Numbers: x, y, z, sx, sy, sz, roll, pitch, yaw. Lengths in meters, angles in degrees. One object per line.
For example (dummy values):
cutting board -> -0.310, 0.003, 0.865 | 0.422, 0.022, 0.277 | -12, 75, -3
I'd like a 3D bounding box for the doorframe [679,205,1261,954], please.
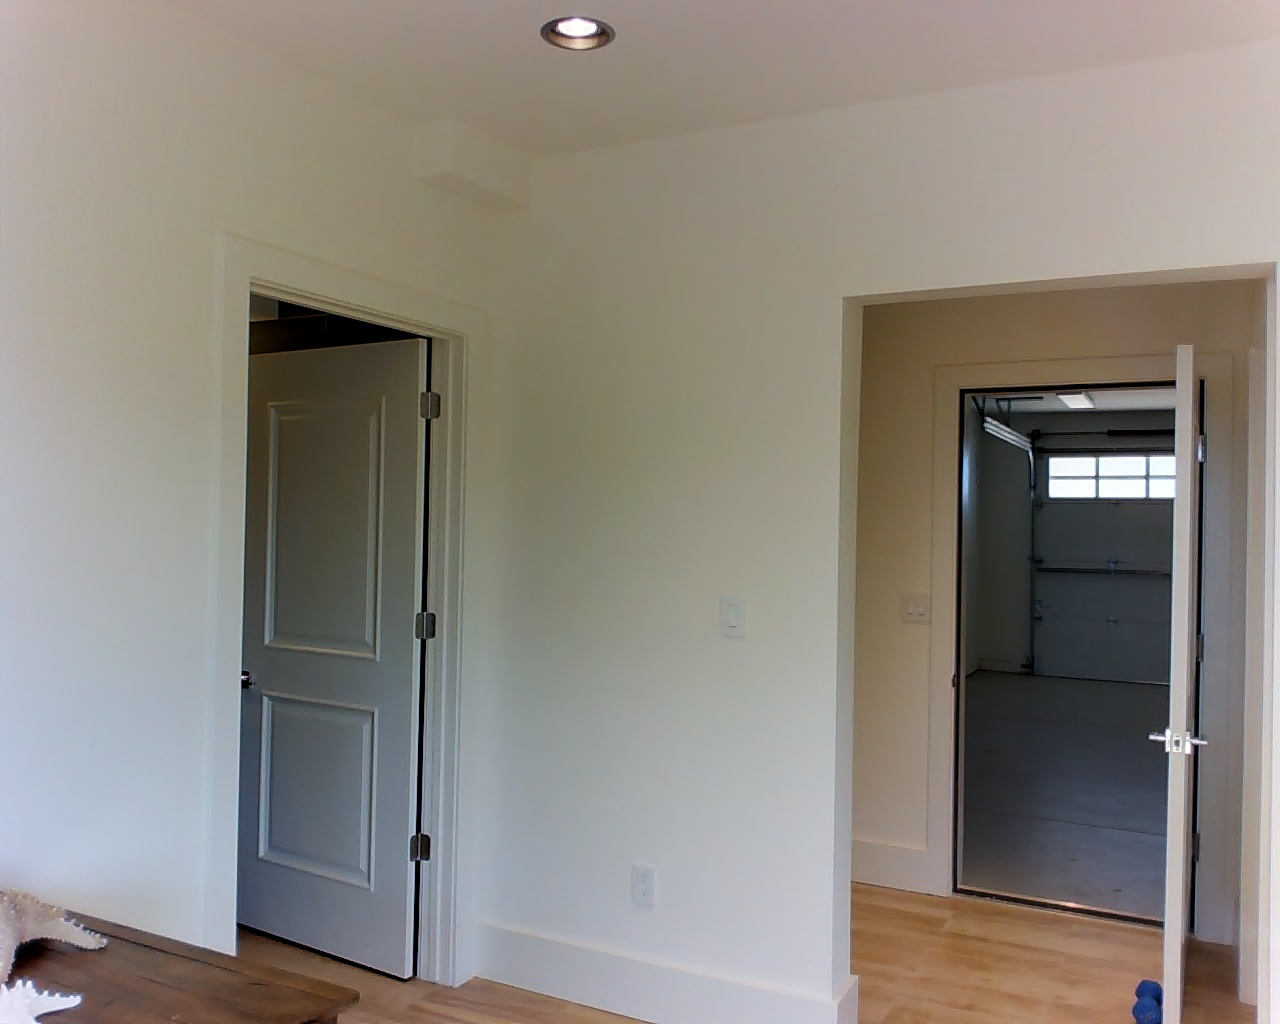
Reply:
doorframe -> 1.260, 0.230, 4.540 | 2.330, 2.760, 0.090 | 1, -1, 28
